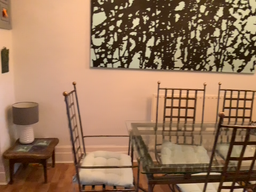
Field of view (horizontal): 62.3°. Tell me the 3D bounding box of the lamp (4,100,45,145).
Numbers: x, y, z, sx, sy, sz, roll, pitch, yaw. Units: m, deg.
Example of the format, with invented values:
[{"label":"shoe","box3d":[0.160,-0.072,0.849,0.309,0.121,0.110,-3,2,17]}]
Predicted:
[{"label":"lamp","box3d":[-1.110,0.280,2.320,0.290,0.410,0.320,1,12,-6]}]
